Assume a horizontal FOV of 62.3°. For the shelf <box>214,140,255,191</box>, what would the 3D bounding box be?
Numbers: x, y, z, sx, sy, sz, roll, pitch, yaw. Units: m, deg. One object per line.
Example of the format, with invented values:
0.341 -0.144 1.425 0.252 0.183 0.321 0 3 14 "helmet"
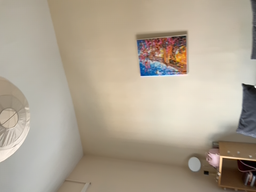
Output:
1.490 0.790 2.260 0.330 1.020 0.440 -52 -39 -62 "shelf"
